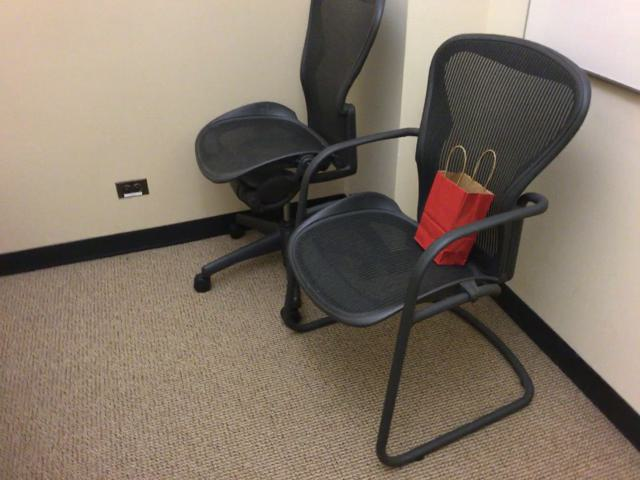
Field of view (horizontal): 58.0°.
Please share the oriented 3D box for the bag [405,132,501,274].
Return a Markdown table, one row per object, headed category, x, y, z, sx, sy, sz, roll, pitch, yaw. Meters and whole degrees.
| category | x | y | z | sx | sy | sz | roll | pitch | yaw |
| --- | --- | --- | --- | --- | --- | --- | --- | --- | --- |
| bag | 0.340 | -0.100 | 1.530 | 0.130 | 0.300 | 0.200 | -11 | 34 | -17 |
